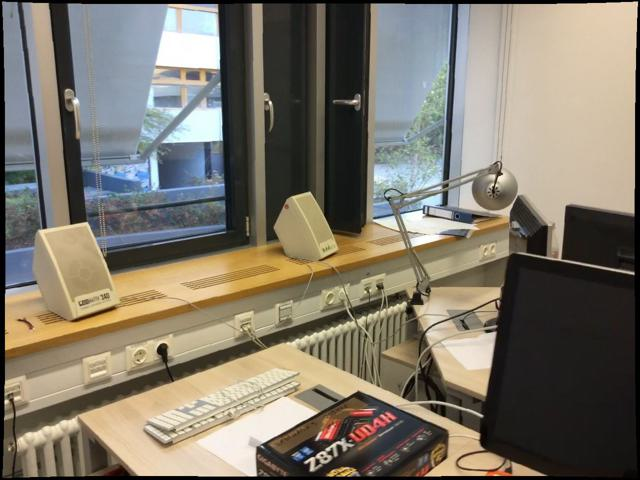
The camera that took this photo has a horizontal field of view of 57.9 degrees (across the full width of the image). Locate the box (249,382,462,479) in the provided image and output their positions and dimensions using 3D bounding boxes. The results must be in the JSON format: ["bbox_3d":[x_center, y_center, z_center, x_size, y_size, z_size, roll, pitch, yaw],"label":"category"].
[{"bbox_3d":[0.080,0.470,1.270,0.360,0.090,0.300,-15,21,-43],"label":"box"}]

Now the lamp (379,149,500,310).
[{"bbox_3d":[0.430,-0.050,2.130,0.350,0.530,0.210,-5,16,-20],"label":"lamp"}]
